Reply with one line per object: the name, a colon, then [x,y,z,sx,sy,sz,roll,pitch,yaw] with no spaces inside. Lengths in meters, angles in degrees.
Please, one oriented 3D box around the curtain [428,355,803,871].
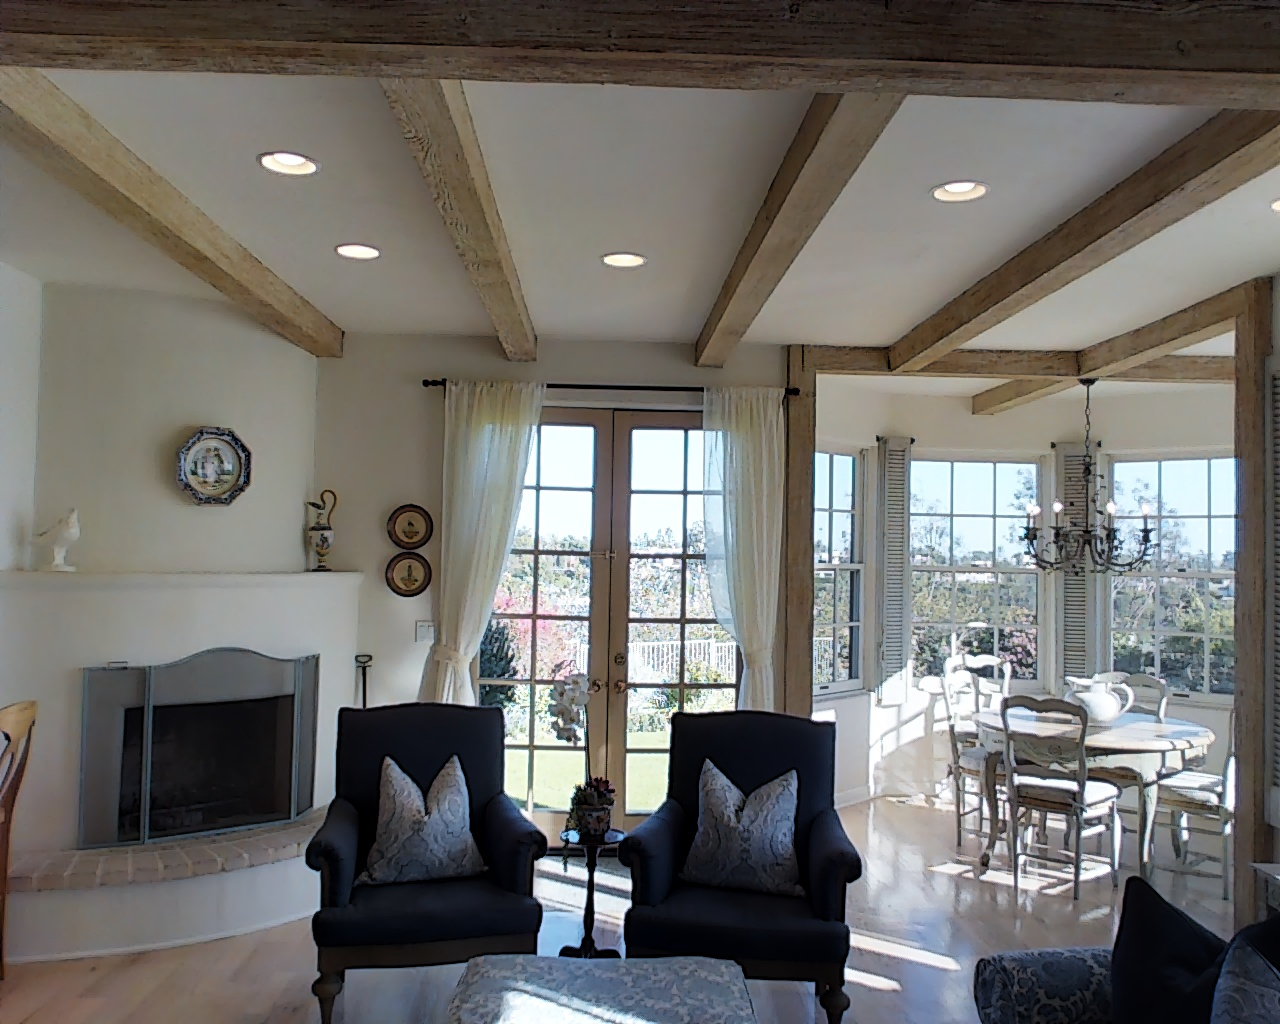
curtain: [-0.120,0.530,5.770,1.900,2.661,0.270,2,-3,-2]
